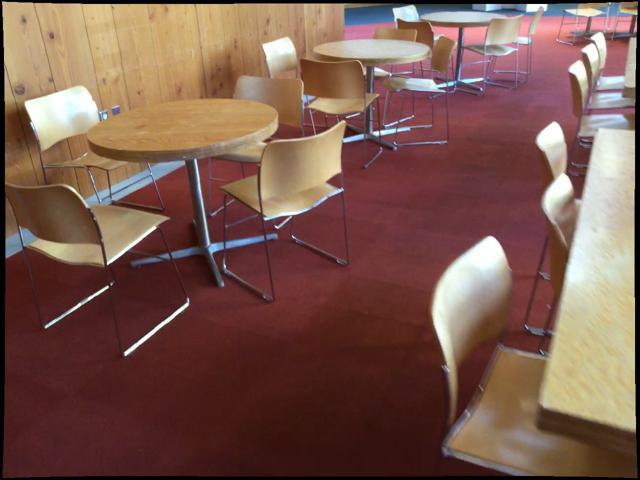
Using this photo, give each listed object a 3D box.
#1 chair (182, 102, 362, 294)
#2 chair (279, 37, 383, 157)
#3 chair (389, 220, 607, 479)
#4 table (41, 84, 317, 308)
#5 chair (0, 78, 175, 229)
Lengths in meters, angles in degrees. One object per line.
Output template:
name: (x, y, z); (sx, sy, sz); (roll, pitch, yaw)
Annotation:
chair: (-0.200, -0.230, 2.710); (0.550, 0.620, 0.580); (20, 35, 34)
chair: (0.100, -1.051, 4.170); (0.510, 0.661, 0.630); (12, 31, 23)
chair: (0.450, 0.390, 1.490); (0.380, 0.671, 0.520); (12, 31, 23)
table: (-0.639, -0.290, 2.940); (0.939, 0.721, 0.870); (12, 31, 23)
chair: (-1.319, -0.521, 3.340); (0.709, 0.671, 0.460); (12, 31, 23)
